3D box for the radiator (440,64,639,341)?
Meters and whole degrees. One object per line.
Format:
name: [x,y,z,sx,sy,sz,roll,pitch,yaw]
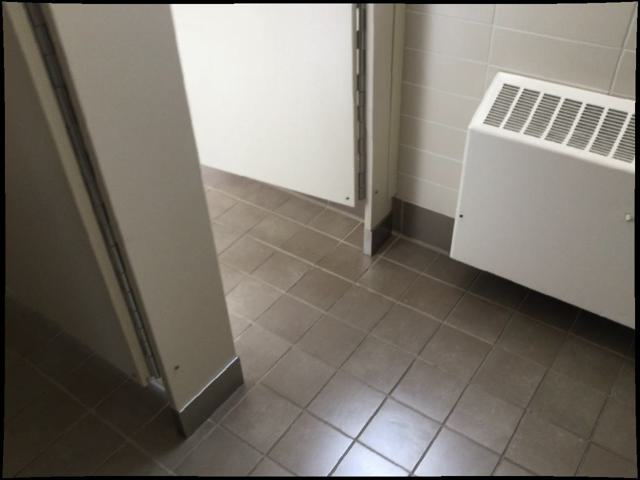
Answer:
radiator: [0.749,-0.040,1.380,0.880,0.530,0.190,24,48,28]
